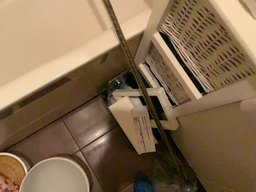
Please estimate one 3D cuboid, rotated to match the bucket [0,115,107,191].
[{"bbox_3d":[-0.330,0.340,1.000,0.310,0.210,0.380,-31,84,-11],"label":"bucket"}]
